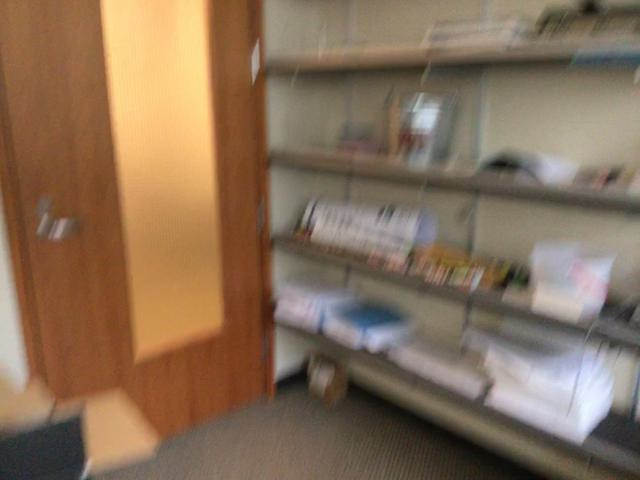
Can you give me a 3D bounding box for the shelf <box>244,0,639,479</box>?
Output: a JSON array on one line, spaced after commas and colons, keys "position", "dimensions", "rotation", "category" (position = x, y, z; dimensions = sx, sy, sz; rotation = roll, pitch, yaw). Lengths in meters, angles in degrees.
[{"position": [0.410, -0.480, 1.780], "dimensions": [0.500, 2.190, 1.590], "rotation": [-9, 18, -38], "category": "shelf"}]
